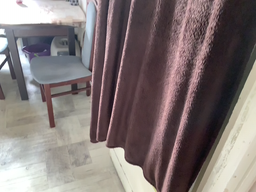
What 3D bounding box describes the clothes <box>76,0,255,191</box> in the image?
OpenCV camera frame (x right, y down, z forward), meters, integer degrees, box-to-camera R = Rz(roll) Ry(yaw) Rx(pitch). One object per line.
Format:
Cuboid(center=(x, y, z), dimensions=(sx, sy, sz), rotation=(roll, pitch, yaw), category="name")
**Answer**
Cuboid(center=(0.060, -0.360, 0.730), dimensions=(0.280, 1.780, 0.940), rotation=(-9, 38, -22), category="clothes")
